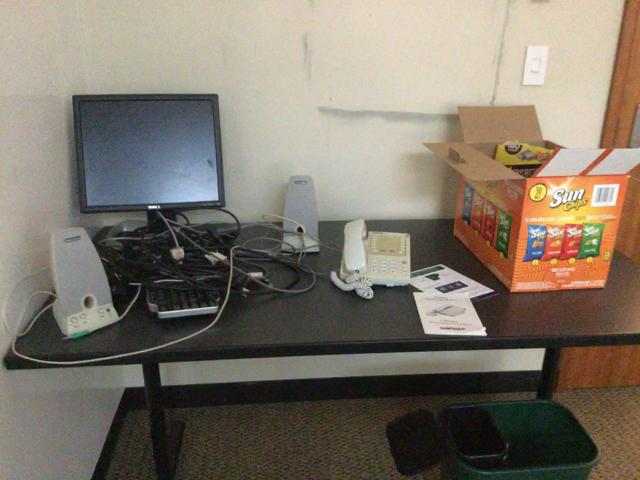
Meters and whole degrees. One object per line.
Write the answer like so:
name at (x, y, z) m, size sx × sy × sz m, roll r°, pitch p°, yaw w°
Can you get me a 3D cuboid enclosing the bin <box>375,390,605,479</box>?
bin at (0.410, 0.650, 1.530) m, size 0.490 × 0.380 × 0.290 m, roll -1°, pitch 19°, yaw -2°
